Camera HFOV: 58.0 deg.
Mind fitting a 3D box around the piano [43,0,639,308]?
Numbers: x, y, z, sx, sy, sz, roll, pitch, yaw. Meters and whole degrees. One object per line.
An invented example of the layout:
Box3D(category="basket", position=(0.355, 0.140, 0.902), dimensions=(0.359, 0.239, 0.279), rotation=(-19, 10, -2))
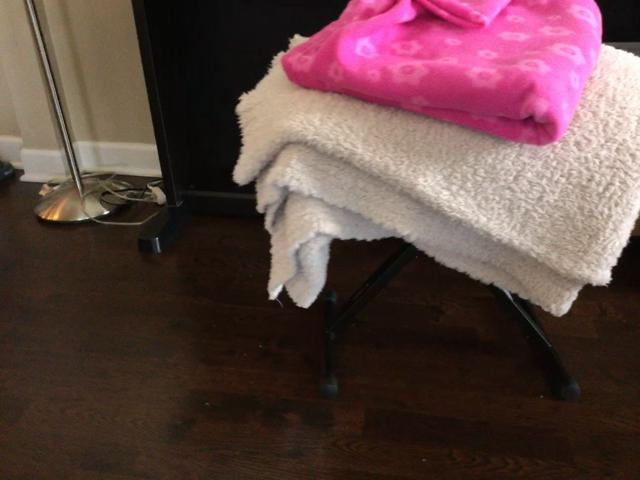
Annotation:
Box3D(category="piano", position=(0.220, -0.480, 1.270), dimensions=(1.460, 1.070, 0.510), rotation=(4, 31, 10))
